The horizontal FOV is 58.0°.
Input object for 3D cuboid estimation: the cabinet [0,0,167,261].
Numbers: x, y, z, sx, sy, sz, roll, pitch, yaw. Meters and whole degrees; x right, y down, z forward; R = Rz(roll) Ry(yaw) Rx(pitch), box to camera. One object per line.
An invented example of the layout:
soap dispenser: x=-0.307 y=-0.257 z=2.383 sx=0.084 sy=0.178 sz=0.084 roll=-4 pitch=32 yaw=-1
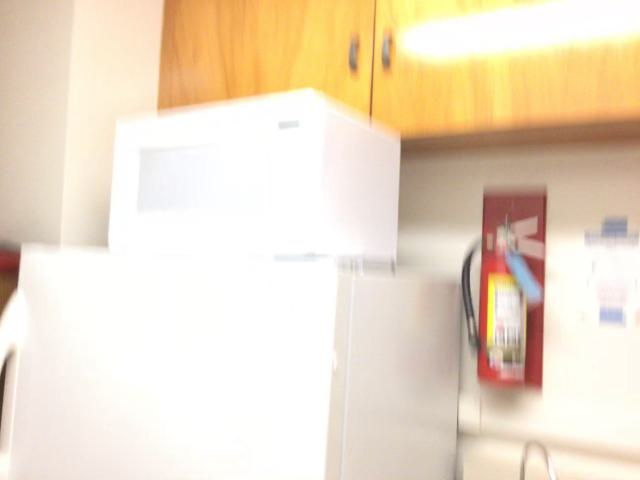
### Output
cabinet: x=-0.820 y=-0.410 z=1.650 sx=0.690 sy=0.910 sz=0.320 roll=2 pitch=-1 yaw=30

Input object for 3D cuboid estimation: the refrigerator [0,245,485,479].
refrigerator: x=-0.150 y=0.800 z=1.260 sx=0.740 sy=1.540 sz=0.880 roll=2 pitch=-1 yaw=30
